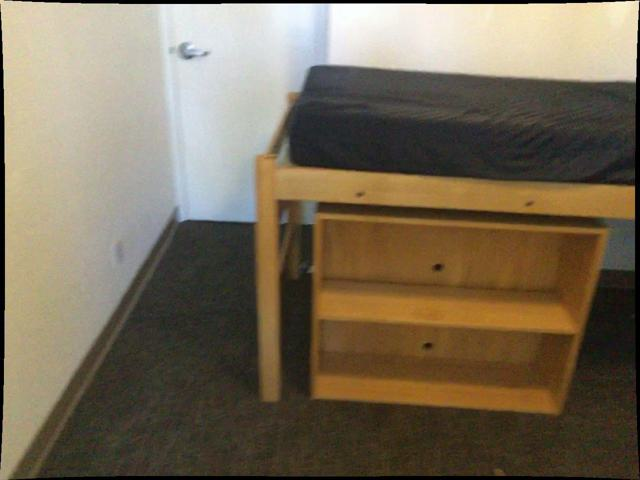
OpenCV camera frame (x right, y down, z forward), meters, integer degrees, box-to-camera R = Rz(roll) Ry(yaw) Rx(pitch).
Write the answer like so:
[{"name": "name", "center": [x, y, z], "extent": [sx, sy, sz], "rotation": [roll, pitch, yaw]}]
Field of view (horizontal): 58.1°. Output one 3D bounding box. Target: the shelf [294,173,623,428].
[{"name": "shelf", "center": [0.419, 0.220, 2.070], "extent": [0.978, 0.791, 0.330], "rotation": [4, 24, 0]}]

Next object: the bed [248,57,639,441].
[{"name": "bed", "center": [0.869, -0.010, 2.260], "extent": [2.176, 1.122, 0.960], "rotation": [3, 24, -1]}]
